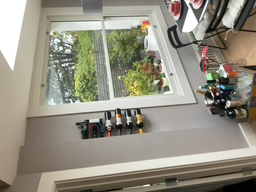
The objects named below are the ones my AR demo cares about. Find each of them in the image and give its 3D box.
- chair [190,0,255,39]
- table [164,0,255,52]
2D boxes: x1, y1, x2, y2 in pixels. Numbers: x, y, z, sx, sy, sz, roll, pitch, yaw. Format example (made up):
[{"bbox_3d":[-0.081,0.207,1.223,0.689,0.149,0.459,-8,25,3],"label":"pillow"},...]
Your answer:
[{"bbox_3d":[1.080,-0.890,1.970,0.480,0.740,0.490,96,167,-50],"label":"chair"},{"bbox_3d":[0.990,-1.240,2.290,1.070,0.750,1.010,98,165,-56],"label":"table"}]
